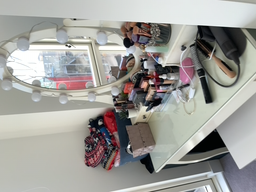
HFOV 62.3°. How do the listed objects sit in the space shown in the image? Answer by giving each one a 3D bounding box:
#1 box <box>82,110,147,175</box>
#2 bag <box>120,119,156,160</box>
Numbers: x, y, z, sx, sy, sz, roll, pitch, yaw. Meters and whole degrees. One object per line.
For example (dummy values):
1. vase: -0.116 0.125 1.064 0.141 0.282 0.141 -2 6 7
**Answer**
1. box: -0.120 0.340 1.590 0.230 0.380 0.370 111 149 -51
2. bag: 0.060 0.290 1.420 0.170 0.150 0.200 112 149 -52
